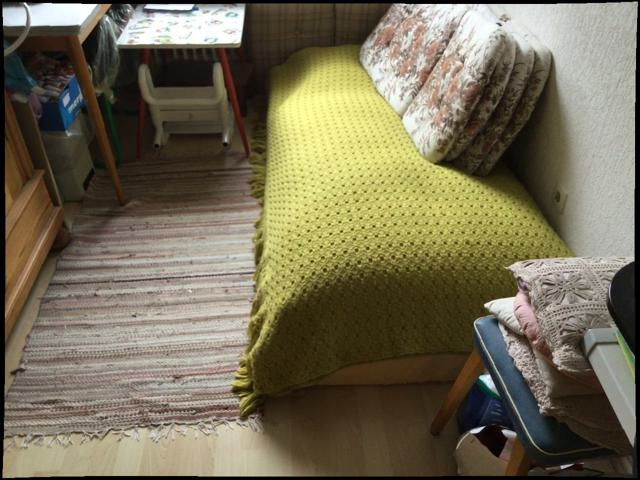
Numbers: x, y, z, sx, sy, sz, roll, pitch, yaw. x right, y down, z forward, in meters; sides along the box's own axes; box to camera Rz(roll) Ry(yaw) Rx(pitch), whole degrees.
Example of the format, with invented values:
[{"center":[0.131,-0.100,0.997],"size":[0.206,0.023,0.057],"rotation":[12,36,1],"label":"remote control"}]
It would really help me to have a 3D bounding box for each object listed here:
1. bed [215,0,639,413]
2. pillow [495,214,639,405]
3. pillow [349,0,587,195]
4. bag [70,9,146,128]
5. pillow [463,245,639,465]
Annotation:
[{"center":[0.200,-0.440,2.270],"size":[1.009,0.540,2.151],"rotation":[-2,40,-3],"label":"bed"},{"center":[0.599,0.120,1.130],"size":[0.390,0.170,0.330],"rotation":[-2,40,-3],"label":"pillow"},{"center":[0.499,-0.761,2.320],"size":[0.360,0.460,1.151],"rotation":[17,37,-26],"label":"pillow"},{"center":[-0.849,-0.701,2.360],"size":[0.160,0.370,0.310],"rotation":[-2,40,-3],"label":"bag"},{"center":[0.539,0.220,1.200],"size":[0.360,0.200,0.390],"rotation":[-2,40,-3],"label":"pillow"}]
